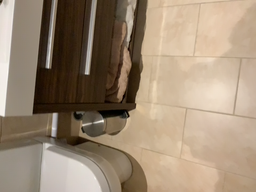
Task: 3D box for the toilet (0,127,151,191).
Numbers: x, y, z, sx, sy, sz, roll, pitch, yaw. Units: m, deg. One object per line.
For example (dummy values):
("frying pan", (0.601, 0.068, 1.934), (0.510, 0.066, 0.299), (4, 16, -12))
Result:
("toilet", (-0.340, 0.470, 1.170), (0.630, 0.800, 0.400), (6, 92, 30))
